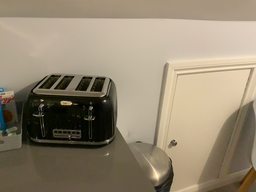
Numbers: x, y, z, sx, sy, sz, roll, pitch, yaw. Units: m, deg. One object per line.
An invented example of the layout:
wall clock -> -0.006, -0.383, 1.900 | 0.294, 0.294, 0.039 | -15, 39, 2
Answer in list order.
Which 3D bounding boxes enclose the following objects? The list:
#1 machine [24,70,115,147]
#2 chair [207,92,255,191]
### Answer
machine -> -0.190, 0.030, 0.810 | 0.250, 0.170, 0.280 | 3, 25, 2
chair -> 0.940, 0.460, 1.450 | 0.480, 0.790, 0.470 | -19, 34, -41
